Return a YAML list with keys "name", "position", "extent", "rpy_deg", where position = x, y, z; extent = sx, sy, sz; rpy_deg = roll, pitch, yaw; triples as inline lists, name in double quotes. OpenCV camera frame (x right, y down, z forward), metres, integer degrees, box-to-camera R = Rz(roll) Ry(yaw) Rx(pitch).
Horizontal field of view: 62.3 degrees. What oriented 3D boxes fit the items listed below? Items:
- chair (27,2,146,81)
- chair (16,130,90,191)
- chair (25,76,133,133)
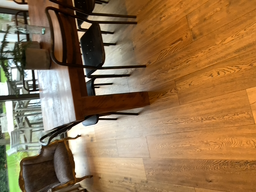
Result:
- name: "chair"
  position: [-0.370, -0.440, 1.980]
  extent: [0.450, 0.930, 0.480]
  rpy_deg: [-18, 80, 52]
- name: "chair"
  position: [-1.200, 1.080, 3.340]
  extent: [0.660, 0.830, 0.770]
  rpy_deg: [-46, 59, 45]
- name: "chair"
  position: [-0.480, 0.070, 2.180]
  extent: [0.440, 0.930, 0.440]
  rpy_deg: [-19, 79, 52]
